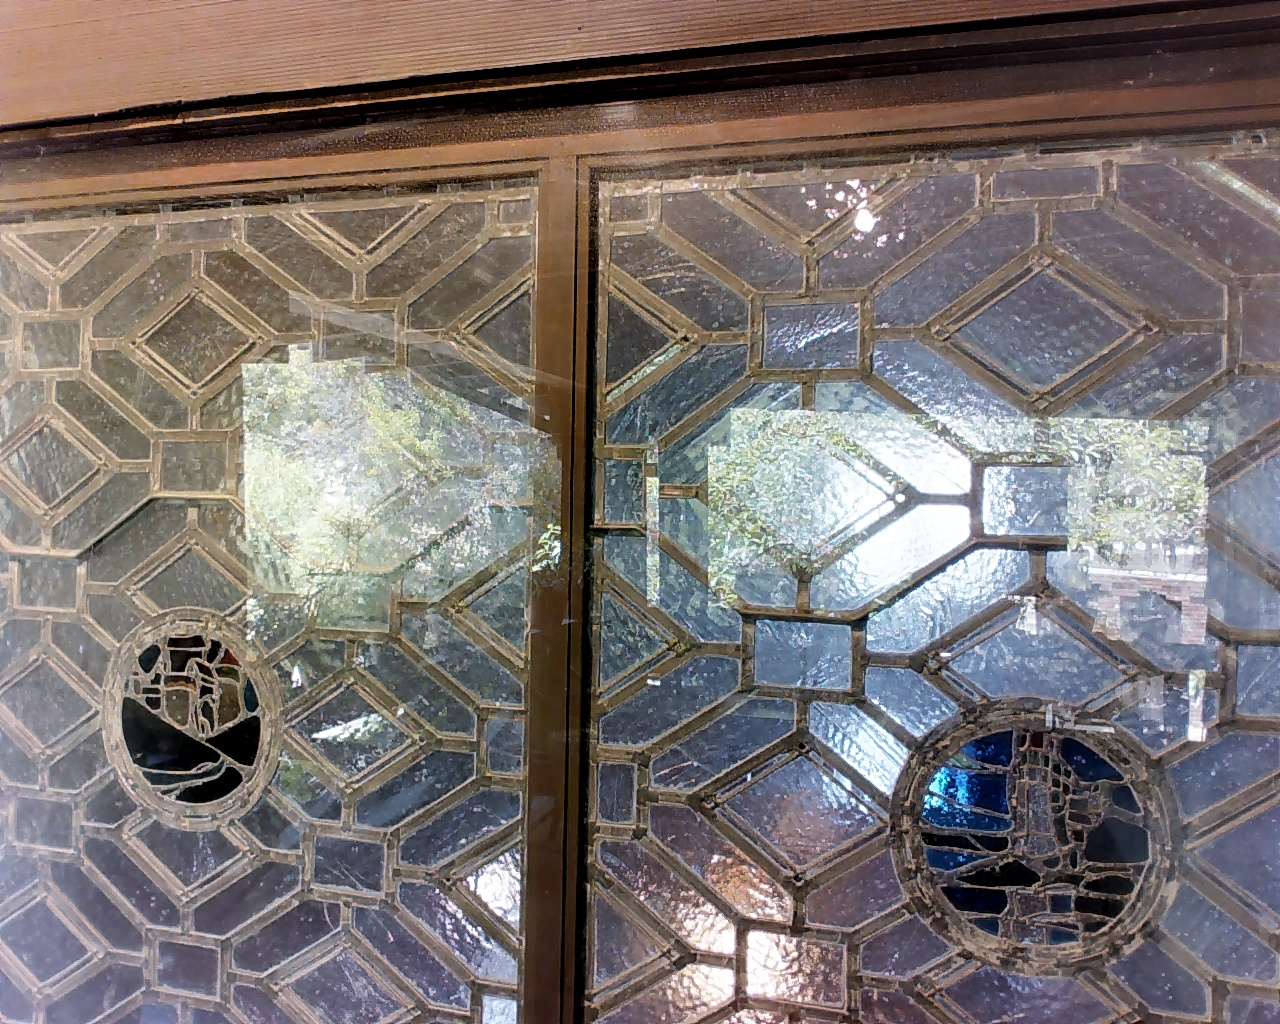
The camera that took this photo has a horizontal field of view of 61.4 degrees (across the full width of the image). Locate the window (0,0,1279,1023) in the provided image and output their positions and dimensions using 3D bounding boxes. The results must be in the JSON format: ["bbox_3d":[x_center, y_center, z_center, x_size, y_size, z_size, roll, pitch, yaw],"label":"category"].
[{"bbox_3d":[-0.470,0.520,1.110,2.560,1.810,0.070,1,0,17],"label":"window"}]
